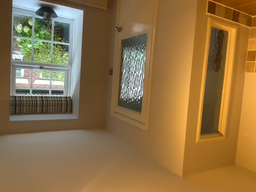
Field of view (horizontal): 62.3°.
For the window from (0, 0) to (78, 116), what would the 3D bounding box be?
[{"bbox_3d":[-1.230,-0.500,2.990,0.940,1.550,0.100,1,-174,-34],"label":"window"}]
